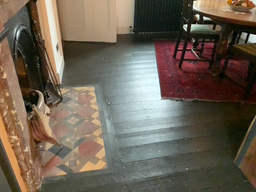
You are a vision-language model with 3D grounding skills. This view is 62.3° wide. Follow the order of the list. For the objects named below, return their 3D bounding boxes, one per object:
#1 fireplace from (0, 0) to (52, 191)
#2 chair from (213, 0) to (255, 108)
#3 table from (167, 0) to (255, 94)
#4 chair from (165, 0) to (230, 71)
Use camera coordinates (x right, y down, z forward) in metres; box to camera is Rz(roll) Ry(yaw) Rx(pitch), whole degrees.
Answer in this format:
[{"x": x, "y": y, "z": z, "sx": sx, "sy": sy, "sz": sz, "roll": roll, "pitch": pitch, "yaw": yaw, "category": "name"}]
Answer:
[{"x": -0.840, "y": -0.150, "z": 1.420, "sx": 0.400, "sy": 1.060, "sz": 1.400, "roll": -6, "pitch": 34, "yaw": -13, "category": "fireplace"}, {"x": 1.320, "y": -0.480, "z": 2.110, "sx": 0.420, "sy": 1.030, "sz": 0.530, "roll": -9, "pitch": 35, "yaw": -17, "category": "chair"}, {"x": 1.250, "y": -0.720, "z": 2.710, "sx": 1.140, "sy": 0.770, "sz": 1.370, "roll": 1, "pitch": 33, "yaw": -3, "category": "table"}, {"x": 0.840, "y": -0.890, "z": 2.690, "sx": 0.530, "sy": 1.040, "sz": 0.420, "roll": 1, "pitch": 33, "yaw": -3, "category": "chair"}]
